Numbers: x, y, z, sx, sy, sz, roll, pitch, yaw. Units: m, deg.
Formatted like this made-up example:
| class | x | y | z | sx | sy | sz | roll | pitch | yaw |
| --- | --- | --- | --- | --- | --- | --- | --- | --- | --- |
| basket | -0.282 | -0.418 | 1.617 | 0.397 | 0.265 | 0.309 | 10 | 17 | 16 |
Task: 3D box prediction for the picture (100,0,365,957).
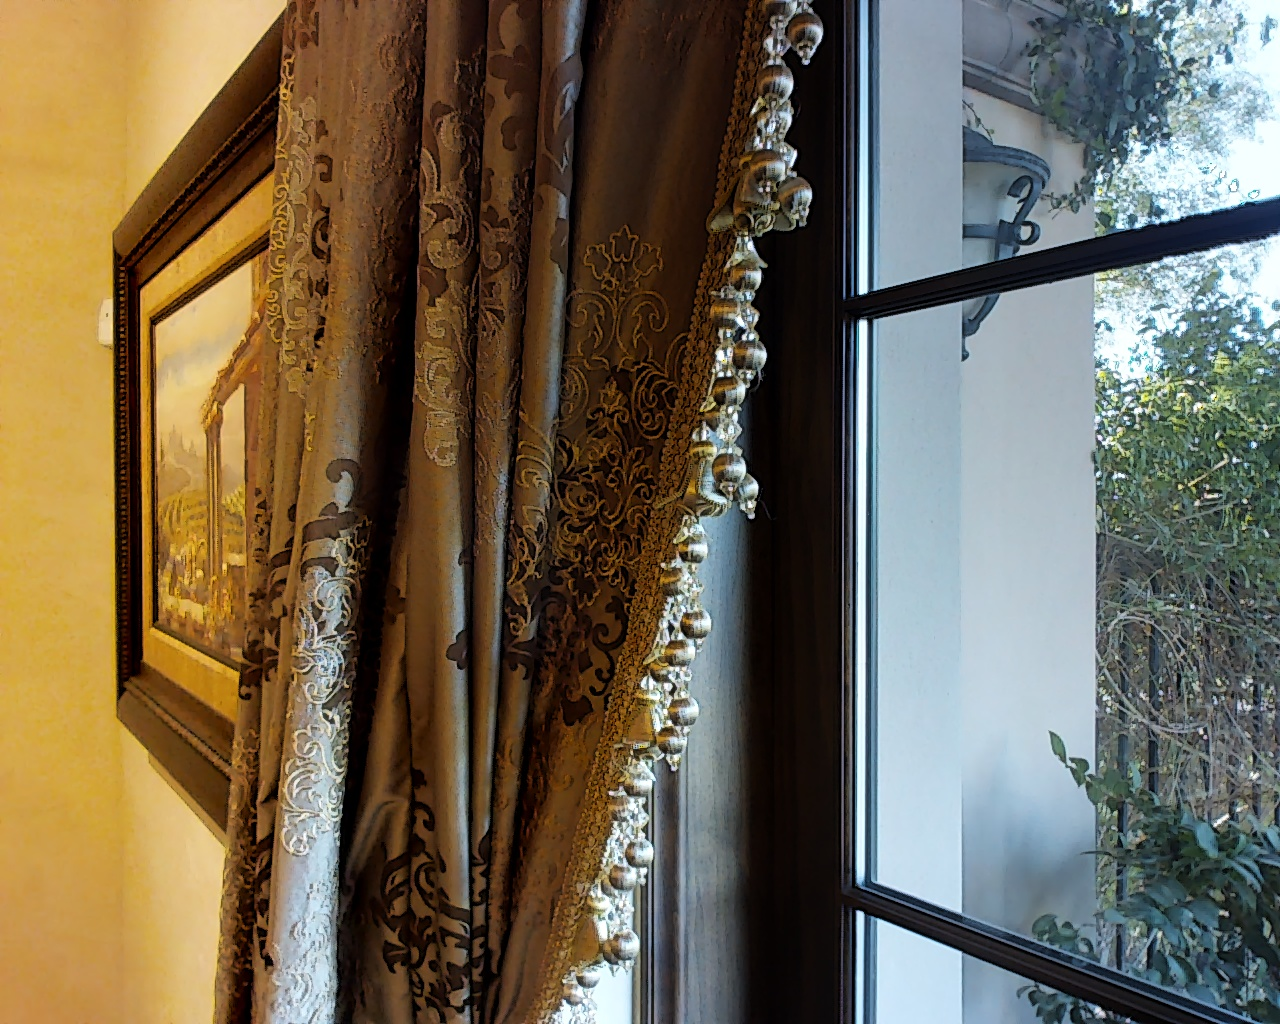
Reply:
| class | x | y | z | sx | sy | sz | roll | pitch | yaw |
| --- | --- | --- | --- | --- | --- | --- | --- | --- | --- |
| picture | -0.710 | -0.060 | 1.700 | 0.080 | 1.070 | 1.310 | 1 | -1 | -34 |
